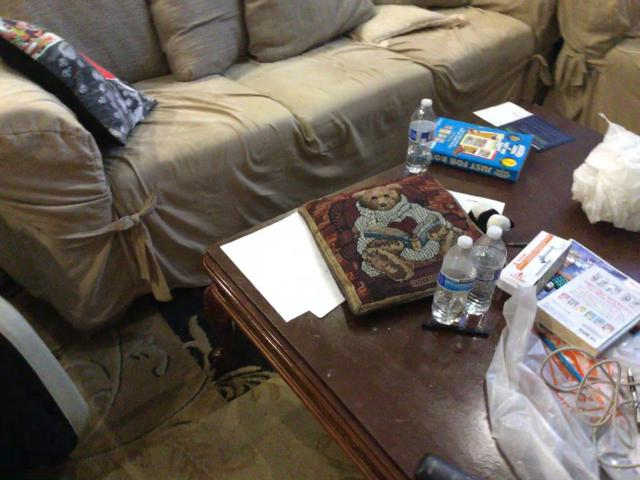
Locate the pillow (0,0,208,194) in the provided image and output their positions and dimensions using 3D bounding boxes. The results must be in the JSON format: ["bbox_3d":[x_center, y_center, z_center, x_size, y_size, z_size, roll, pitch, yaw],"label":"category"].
[{"bbox_3d":[-0.600,-0.430,1.460,0.400,0.340,0.480,-27,46,-31],"label":"pillow"}]

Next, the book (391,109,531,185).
[{"bbox_3d":[0.390,-0.260,1.610,0.220,0.080,0.310,-2,30,-46],"label":"book"}]

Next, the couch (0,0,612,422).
[{"bbox_3d":[-0.090,-0.630,1.980,2.330,0.950,0.990,-27,46,-31],"label":"couch"}]

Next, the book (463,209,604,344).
[{"bbox_3d":[0.440,0.070,1.200,0.230,0.150,0.140,-26,45,-30],"label":"book"}]
